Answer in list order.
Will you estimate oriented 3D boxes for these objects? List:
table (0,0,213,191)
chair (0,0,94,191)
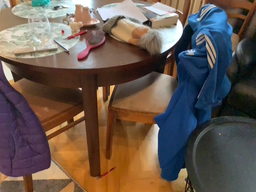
[{"bbox_3d":[-0.240,-0.120,1.370,0.990,0.780,0.980,30,46,28],"label":"table"},{"bbox_3d":[-0.520,0.030,1.090,0.440,0.870,0.480,28,45,26],"label":"chair"}]
